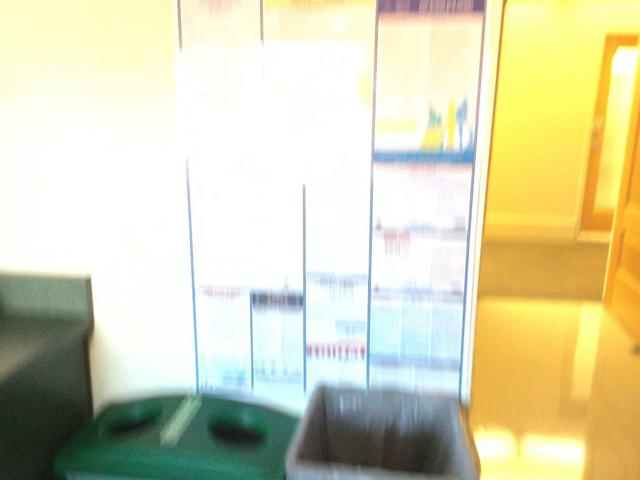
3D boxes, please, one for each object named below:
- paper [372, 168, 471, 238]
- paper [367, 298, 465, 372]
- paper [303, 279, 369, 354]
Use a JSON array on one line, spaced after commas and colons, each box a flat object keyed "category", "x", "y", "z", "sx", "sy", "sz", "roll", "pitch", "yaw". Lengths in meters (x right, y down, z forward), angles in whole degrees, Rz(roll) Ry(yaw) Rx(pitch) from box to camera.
[{"category": "paper", "x": 0.220, "y": -0.080, "z": 1.270, "sx": 0.210, "sy": 0.150, "sz": 0.020, "roll": 0, "pitch": 15, "yaw": 6}, {"category": "paper", "x": 0.220, "y": 0.220, "z": 1.340, "sx": 0.220, "sy": 0.170, "sz": 0.030, "roll": 0, "pitch": 15, "yaw": 6}, {"category": "paper", "x": 0.040, "y": 0.180, "z": 1.360, "sx": 0.150, "sy": 0.180, "sz": 0.020, "roll": 0, "pitch": 15, "yaw": 6}]
